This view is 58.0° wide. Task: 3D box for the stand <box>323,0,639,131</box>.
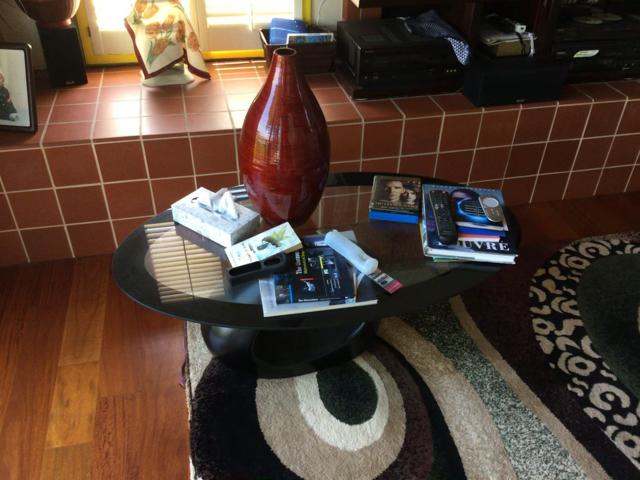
[{"bbox_3d":[0.710,-0.880,2.340,1.300,0.460,0.710,-8,35,-4],"label":"stand"}]
